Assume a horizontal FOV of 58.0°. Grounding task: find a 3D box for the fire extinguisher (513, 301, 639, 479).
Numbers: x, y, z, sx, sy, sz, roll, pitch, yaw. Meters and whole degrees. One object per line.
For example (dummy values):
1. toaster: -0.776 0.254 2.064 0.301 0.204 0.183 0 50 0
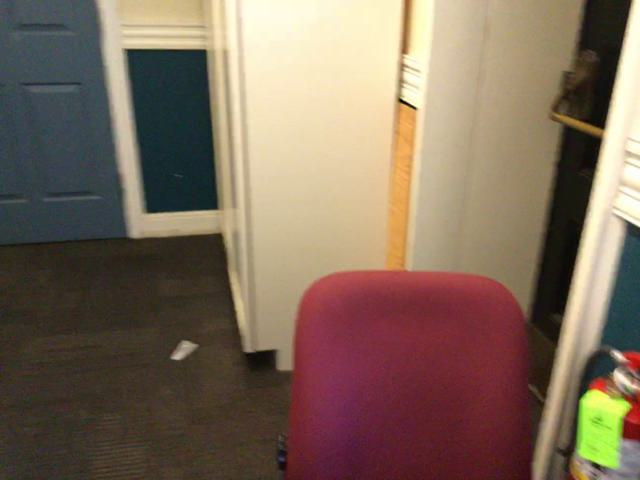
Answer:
1. fire extinguisher: 0.460 0.360 0.980 0.130 0.470 0.190 -3 24 -13
